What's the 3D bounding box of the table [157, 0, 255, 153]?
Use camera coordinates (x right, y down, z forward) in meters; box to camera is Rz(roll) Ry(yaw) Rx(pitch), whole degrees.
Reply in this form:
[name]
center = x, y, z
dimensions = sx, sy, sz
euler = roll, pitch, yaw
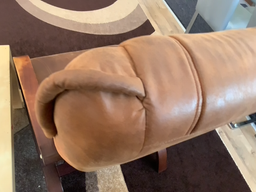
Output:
[table]
center = 1.040, -0.460, 1.800
dimensions = 0.840, 0.760, 1.500
euler = -7, 55, -22
